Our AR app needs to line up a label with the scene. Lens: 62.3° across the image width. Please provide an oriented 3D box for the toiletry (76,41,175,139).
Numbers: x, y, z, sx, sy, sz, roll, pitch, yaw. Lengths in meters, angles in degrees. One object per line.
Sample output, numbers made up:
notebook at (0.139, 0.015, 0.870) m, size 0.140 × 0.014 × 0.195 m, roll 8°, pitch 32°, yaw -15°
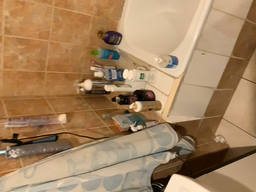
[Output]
toiletry at (-0.060, -0.070, 1.340) m, size 0.580 × 0.270 × 0.380 m, roll 37°, pitch 120°, yaw 46°

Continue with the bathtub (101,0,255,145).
bathtub at (0.450, -0.760, 1.260) m, size 0.720 × 0.540 × 1.950 m, roll 40°, pitch 122°, yaw 45°
